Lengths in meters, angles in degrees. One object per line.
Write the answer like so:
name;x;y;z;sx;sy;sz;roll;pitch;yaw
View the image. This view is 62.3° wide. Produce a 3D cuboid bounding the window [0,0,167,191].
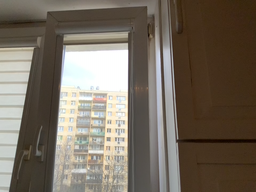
window;-0.530;0.230;0.970;1.370;1.470;0.230;-1;-18;7
